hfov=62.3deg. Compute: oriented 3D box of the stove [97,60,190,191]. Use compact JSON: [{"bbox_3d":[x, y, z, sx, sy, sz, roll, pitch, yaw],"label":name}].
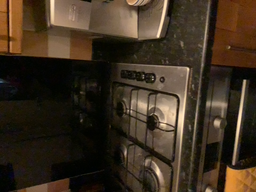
[{"bbox_3d":[0.010,0.140,0.870,0.510,0.050,0.550,18,107,56],"label":"stove"}]
